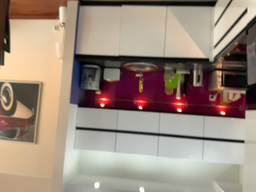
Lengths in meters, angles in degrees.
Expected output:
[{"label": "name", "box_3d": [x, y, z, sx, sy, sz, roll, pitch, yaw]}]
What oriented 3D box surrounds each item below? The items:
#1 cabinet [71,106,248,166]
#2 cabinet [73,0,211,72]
[{"label": "cabinet", "box_3d": [0.410, 0.550, 3.110, 2.380, 0.620, 0.380, 4, 176, 7]}, {"label": "cabinet", "box_3d": [0.200, -0.870, 3.130, 1.790, 0.840, 0.590, 4, 176, 7]}]
